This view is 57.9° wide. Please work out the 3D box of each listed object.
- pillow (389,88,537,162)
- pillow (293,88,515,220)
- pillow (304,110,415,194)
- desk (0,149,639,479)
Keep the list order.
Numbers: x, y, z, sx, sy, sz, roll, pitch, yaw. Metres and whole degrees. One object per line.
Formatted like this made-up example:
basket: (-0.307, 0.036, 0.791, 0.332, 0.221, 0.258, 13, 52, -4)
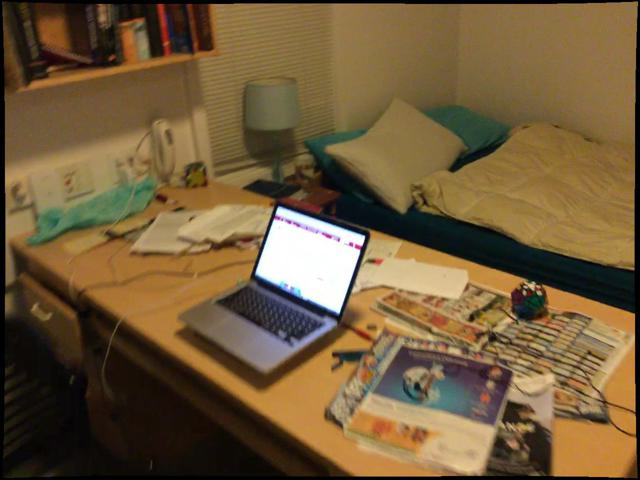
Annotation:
pillow: (0.799, -0.661, 3.220, 0.510, 0.170, 0.690, 21, 36, 39)
pillow: (0.420, -0.460, 2.780, 0.610, 0.280, 0.920, 21, 36, 39)
pillow: (0.200, -0.440, 2.800, 0.310, 0.240, 0.450, 21, 36, 39)
desk: (-0.070, 0.400, 1.670, 1.819, 0.801, 0.850, 21, 36, 39)
